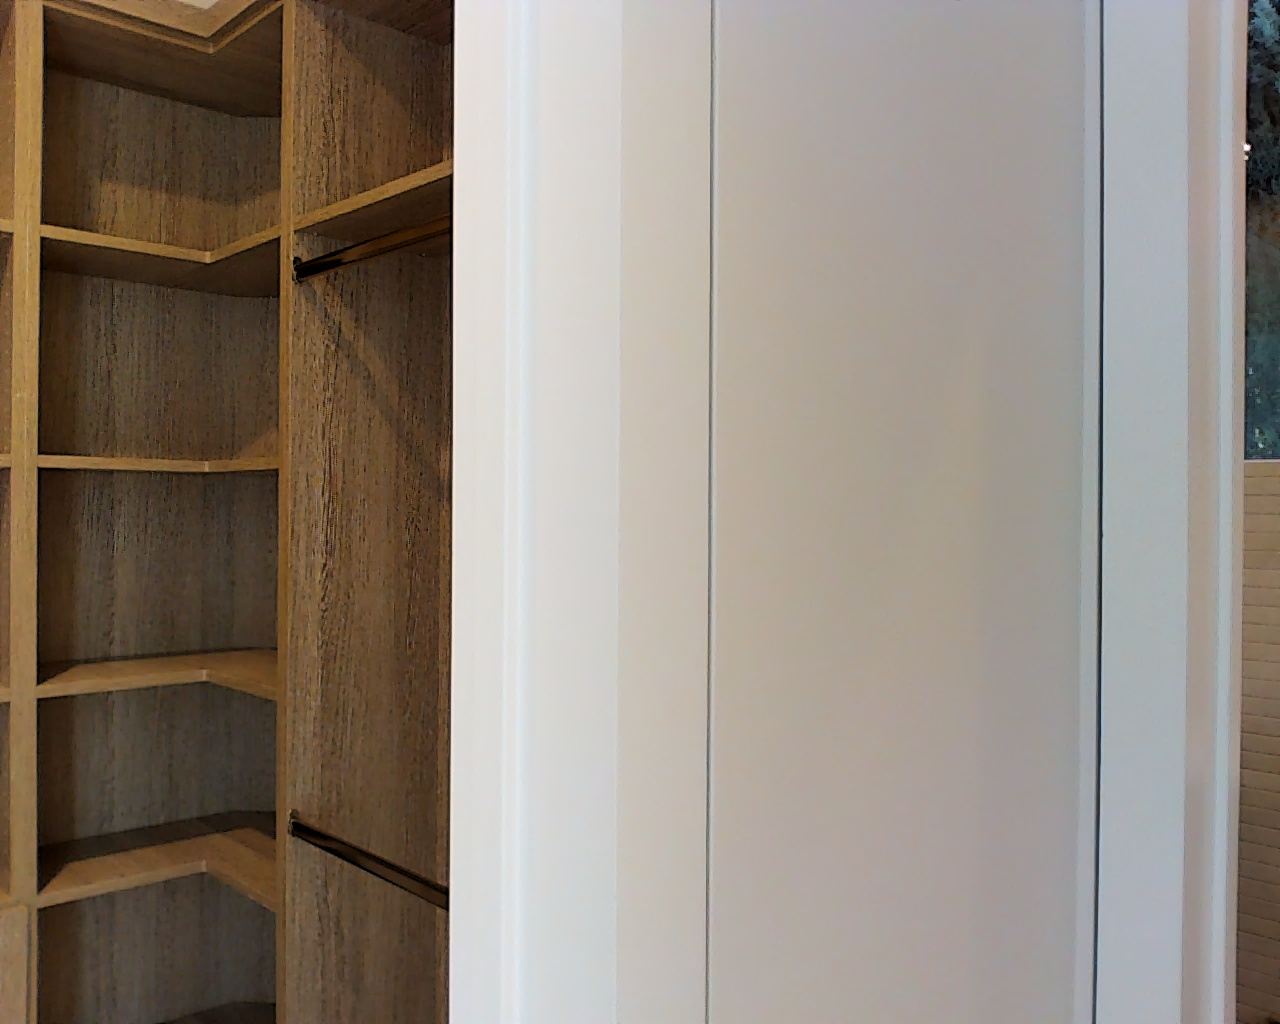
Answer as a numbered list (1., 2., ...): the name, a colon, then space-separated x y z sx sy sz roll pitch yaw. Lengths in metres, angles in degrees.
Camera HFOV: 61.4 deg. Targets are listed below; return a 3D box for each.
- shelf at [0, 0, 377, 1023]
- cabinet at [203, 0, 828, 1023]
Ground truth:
1. shelf: -1.100 0.290 1.840 1.210 2.460 0.430 -1 1 -45
2. cabinet: -0.260 0.310 1.610 0.340 2.450 1.070 -1 1 -44
